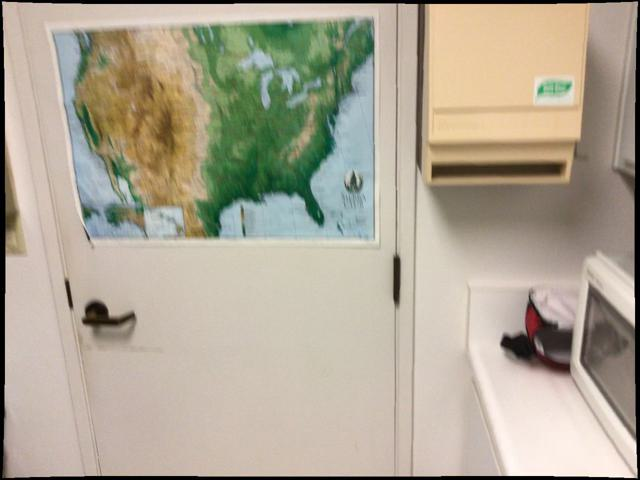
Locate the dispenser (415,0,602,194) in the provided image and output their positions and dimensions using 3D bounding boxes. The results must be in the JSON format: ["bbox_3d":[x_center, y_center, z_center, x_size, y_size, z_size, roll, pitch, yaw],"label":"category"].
[{"bbox_3d":[0.380,-0.320,1.250,0.330,0.390,0.240,-1,16,6],"label":"dispenser"}]

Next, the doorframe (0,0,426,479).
[{"bbox_3d":[-0.250,0.110,1.550,1.049,2.092,0.080,-1,16,6],"label":"doorframe"}]

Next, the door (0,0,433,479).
[{"bbox_3d":[-0.220,0.140,1.550,1.019,2.062,0.070,-1,16,6],"label":"door"}]
